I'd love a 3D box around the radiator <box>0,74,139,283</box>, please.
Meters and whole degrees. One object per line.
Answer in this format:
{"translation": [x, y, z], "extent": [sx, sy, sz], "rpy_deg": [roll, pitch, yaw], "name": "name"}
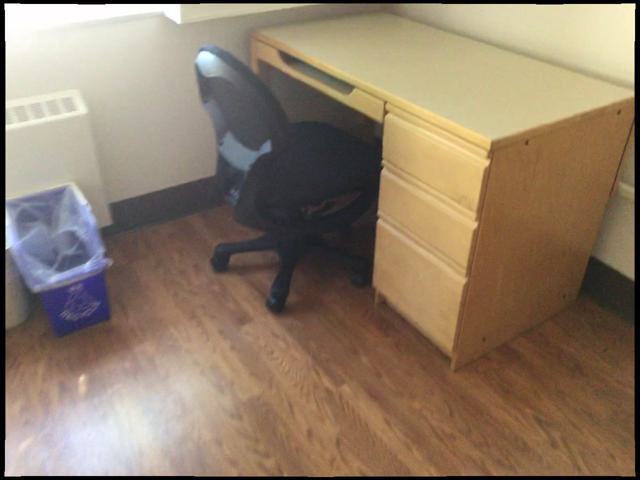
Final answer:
{"translation": [-1.247, -0.130, 1.950], "extent": [1.109, 0.581, 0.250], "rpy_deg": [-21, 40, -26], "name": "radiator"}
